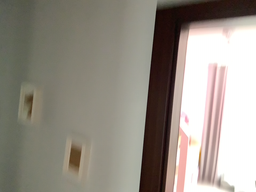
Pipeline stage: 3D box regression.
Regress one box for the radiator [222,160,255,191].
[{"bbox_3d":[2.300,1.650,4.180,0.730,0.560,0.190,6,1,41],"label":"radiator"}]
